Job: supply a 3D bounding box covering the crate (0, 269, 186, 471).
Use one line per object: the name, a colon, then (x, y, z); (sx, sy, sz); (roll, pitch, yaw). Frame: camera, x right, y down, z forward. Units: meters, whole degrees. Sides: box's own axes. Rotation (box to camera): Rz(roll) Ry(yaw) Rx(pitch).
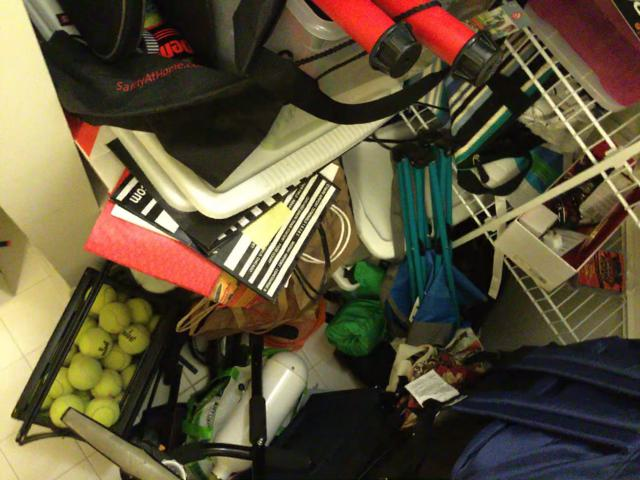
crate: (-0.500, 0.300, 1.340); (0.240, 0.340, 0.350); (23, -19, -9)
